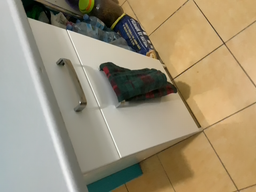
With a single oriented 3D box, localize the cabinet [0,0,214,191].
[{"bbox_3d":[-0.100,0.090,0.860,0.500,0.850,0.420,-38,69,30],"label":"cabinet"}]
